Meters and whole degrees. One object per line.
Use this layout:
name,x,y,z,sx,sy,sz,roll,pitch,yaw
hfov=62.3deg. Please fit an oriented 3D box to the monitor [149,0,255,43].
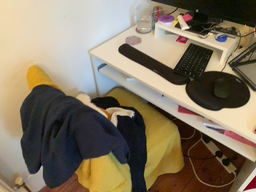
monitor,0.350,-0.510,0.990,0.550,0.380,0.050,27,50,28

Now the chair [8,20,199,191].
chair,-0.080,0.190,1.150,0.500,0.900,0.550,34,56,30

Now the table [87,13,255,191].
table,0.310,0.090,1.310,0.910,0.780,0.540,33,55,29
